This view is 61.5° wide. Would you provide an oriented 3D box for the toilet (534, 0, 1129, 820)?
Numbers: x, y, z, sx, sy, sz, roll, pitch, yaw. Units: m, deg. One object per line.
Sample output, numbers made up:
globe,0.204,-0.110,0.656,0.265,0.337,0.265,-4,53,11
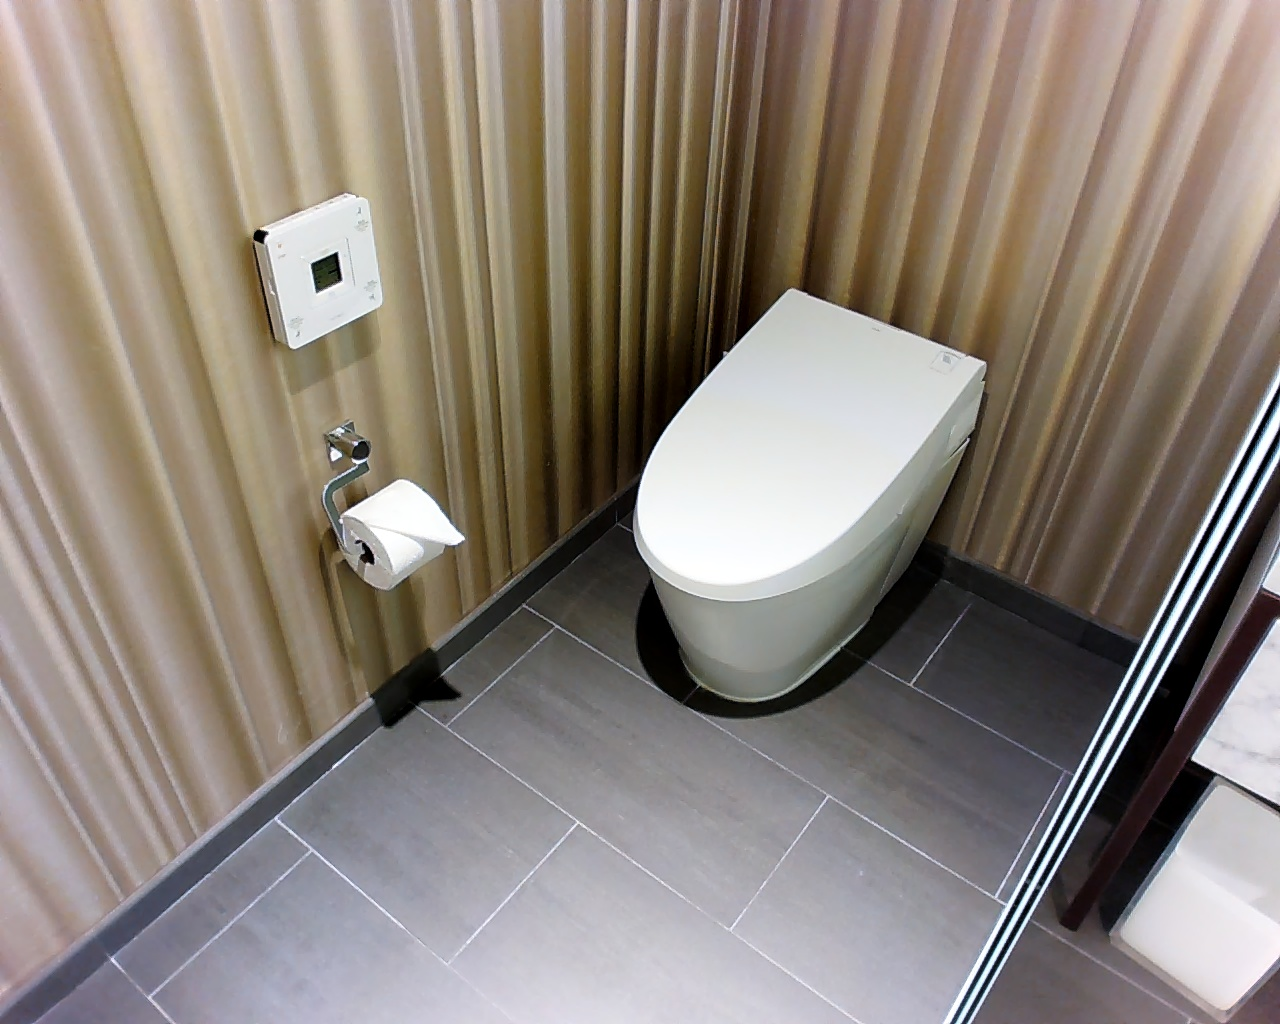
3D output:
toilet,0.260,-0.200,1.700,0.440,1.160,0.710,28,48,26
